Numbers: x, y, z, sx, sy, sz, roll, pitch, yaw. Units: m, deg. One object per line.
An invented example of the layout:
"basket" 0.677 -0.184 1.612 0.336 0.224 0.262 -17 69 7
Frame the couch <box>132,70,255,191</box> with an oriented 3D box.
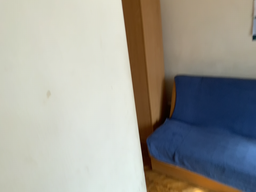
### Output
"couch" 1.210 0.340 1.820 2.050 0.810 1.030 7 25 37
